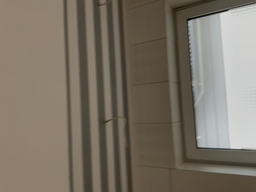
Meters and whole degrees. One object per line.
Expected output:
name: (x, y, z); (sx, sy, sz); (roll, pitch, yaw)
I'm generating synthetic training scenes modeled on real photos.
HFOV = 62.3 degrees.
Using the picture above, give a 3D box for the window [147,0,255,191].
window: (1.030, -0.120, 1.240); (0.140, 1.860, 1.380); (3, -96, -61)
